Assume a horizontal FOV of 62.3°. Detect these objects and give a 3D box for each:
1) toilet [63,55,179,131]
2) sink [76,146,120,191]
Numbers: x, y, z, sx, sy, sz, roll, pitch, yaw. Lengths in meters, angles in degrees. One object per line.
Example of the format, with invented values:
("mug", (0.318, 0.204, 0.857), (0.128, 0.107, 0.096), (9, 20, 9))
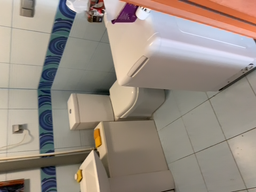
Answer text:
("toilet", (-0.100, 0.020, 2.070), (0.700, 0.860, 0.360), (-47, 50, 49))
("sink", (-0.240, 0.770, 1.690), (0.450, 0.160, 0.600), (-47, 50, 49))
